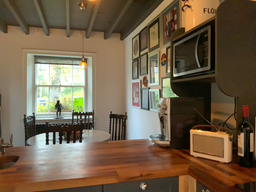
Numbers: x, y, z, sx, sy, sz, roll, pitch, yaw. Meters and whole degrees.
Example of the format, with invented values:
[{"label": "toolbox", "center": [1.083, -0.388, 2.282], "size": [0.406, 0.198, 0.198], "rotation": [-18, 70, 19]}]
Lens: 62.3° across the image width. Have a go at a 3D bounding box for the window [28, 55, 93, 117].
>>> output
[{"label": "window", "center": [-1.520, -0.230, 4.890], "size": [1.390, 1.350, 0.160], "rotation": [0, 1, -16]}]
